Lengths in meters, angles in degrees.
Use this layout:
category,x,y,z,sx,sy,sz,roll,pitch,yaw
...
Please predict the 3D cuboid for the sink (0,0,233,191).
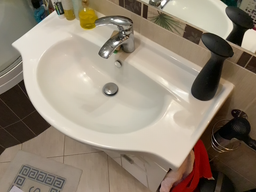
category,x,y,z,sx,sy,sz,roll,pitch,yaw
sink,-0.110,-0.050,0.890,0.870,0.170,0.500,35,64,20
